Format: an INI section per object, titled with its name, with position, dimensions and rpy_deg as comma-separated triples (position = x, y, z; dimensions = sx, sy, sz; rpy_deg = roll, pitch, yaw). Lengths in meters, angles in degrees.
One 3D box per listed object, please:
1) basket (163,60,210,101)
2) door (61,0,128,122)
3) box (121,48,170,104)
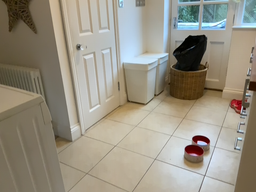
[basket]
position = 0.830, -0.240, 3.020
dimensions = 0.500, 0.410, 0.430
rpy_deg = 13, 27, 34
[door]
position = -0.300, -0.790, 2.160
dimensions = 0.080, 1.950, 0.850
rpy_deg = 11, 26, 30
[box]
position = 0.270, -0.320, 2.990
dimensions = 0.390, 0.570, 0.720
rpy_deg = 10, 26, 29
